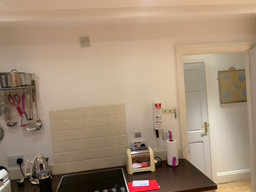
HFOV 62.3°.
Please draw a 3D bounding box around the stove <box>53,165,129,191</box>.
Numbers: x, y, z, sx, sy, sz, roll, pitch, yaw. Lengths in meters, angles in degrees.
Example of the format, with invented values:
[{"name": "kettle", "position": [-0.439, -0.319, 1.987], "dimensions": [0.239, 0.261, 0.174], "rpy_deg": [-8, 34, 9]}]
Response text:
[{"name": "stove", "position": [-0.310, 0.720, 1.770], "dimensions": [0.570, 0.010, 0.550], "rpy_deg": [-5, 3, -8]}]
